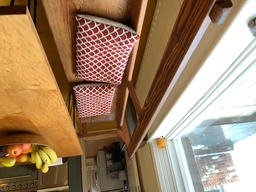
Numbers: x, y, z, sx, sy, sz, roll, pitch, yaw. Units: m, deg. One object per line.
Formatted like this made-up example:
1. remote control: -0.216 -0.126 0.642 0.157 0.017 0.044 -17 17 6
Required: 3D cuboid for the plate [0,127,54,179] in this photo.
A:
1. plate: -0.610 0.330 1.180 0.310 0.180 0.340 -5 155 -9
